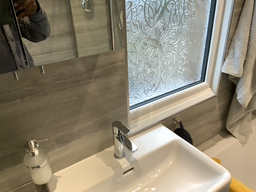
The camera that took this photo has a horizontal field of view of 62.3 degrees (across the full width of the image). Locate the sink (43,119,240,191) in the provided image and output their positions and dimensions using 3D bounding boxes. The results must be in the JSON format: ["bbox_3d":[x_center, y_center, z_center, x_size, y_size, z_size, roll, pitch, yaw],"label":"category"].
[{"bbox_3d":[0.050,0.330,0.770,0.570,0.140,0.380,-21,33,-30],"label":"sink"}]
